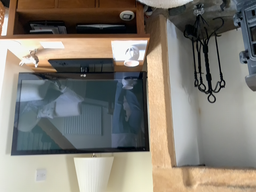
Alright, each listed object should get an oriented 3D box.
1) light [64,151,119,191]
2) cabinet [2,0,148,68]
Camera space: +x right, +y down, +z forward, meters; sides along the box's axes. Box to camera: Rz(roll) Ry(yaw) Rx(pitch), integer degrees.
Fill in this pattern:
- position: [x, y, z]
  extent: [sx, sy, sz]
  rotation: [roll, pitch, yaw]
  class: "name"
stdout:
- position: [-0.310, 0.710, 1.890]
  extent: [0.410, 0.250, 0.350]
  rotation: [2, -100, -61]
  class: "light"
- position: [-0.330, -0.520, 1.560]
  extent: [0.450, 0.870, 0.470]
  rotation: [108, 162, -75]
  class: "cabinet"
